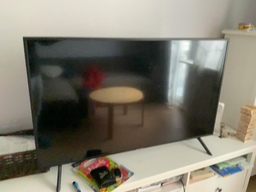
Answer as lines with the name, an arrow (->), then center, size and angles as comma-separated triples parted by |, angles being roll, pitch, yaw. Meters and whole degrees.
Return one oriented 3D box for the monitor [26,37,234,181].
monitor -> 0.090, 0.040, 1.190 | 1.130, 0.700, 0.050 | -6, 20, -22
